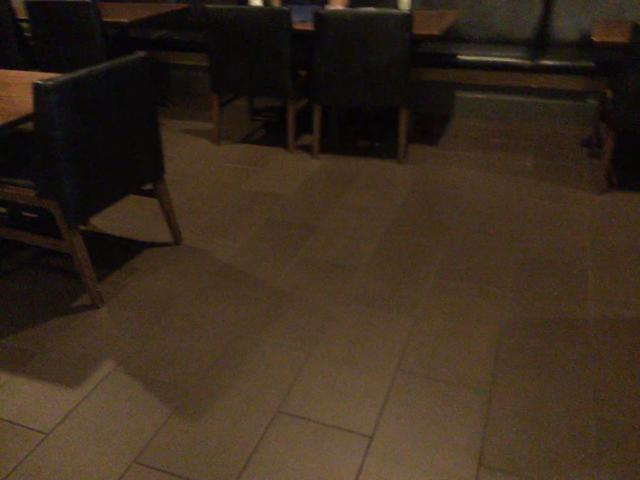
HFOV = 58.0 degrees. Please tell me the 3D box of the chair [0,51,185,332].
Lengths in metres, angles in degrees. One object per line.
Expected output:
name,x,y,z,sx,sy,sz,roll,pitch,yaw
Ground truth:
chair,-0.990,-0.230,2.250,0.560,0.870,0.610,11,28,23
